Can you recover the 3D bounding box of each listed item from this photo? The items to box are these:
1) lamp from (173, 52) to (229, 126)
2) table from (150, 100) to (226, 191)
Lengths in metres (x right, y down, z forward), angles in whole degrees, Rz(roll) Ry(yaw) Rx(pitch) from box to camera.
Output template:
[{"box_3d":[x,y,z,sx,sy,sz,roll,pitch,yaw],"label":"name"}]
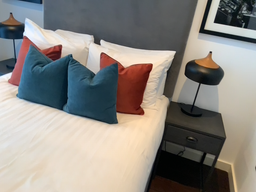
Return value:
[{"box_3d":[0.590,-0.070,1.740,0.280,0.480,0.290,16,27,15],"label":"lamp"},{"box_3d":[0.520,0.440,1.890,0.450,0.600,0.430,16,26,14],"label":"table"}]
